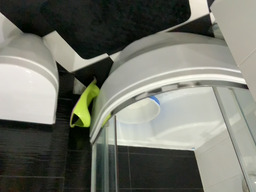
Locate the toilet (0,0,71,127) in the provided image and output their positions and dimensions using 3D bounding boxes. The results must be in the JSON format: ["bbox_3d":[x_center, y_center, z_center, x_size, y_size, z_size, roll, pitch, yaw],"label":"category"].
[{"bbox_3d":[-0.540,-0.170,1.160,0.350,0.470,0.520,8,144,-18],"label":"toilet"}]
